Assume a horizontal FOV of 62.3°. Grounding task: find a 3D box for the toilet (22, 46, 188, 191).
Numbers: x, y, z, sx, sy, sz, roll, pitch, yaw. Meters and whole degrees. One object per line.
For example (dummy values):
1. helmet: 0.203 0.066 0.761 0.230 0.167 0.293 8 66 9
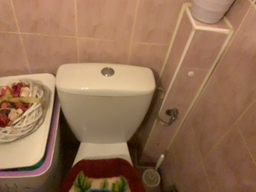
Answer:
1. toilet: -0.110 0.350 0.890 0.380 0.780 0.740 3 48 -9
